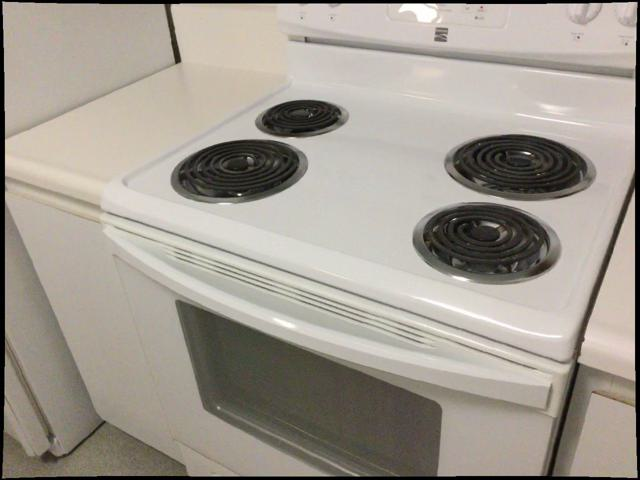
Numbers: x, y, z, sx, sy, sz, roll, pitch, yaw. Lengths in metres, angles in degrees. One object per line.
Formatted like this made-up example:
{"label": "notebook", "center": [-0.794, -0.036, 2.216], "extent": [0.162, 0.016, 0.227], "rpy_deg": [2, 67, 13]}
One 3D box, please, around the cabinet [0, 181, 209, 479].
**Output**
{"label": "cabinet", "center": [-0.519, 0.251, 1.370], "extent": [0.399, 0.781, 0.070], "rpy_deg": [15, 41, 27]}
